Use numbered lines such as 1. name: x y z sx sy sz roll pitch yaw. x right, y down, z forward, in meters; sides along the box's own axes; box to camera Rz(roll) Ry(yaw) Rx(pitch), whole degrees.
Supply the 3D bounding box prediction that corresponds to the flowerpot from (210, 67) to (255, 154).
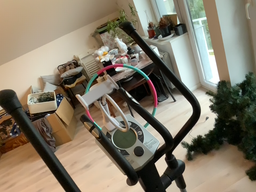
1. flowerpot: 1.150 0.130 2.060 0.390 0.610 0.440 -25 26 -2
